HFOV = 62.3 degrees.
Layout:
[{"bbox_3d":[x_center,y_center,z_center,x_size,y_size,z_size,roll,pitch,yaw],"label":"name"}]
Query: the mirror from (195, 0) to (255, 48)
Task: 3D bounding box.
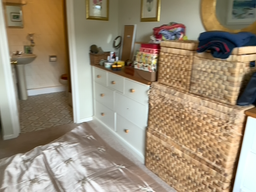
[{"bbox_3d":[0.830,-0.740,1.620,0.110,0.690,0.600,-9,20,-31],"label":"mirror"}]
